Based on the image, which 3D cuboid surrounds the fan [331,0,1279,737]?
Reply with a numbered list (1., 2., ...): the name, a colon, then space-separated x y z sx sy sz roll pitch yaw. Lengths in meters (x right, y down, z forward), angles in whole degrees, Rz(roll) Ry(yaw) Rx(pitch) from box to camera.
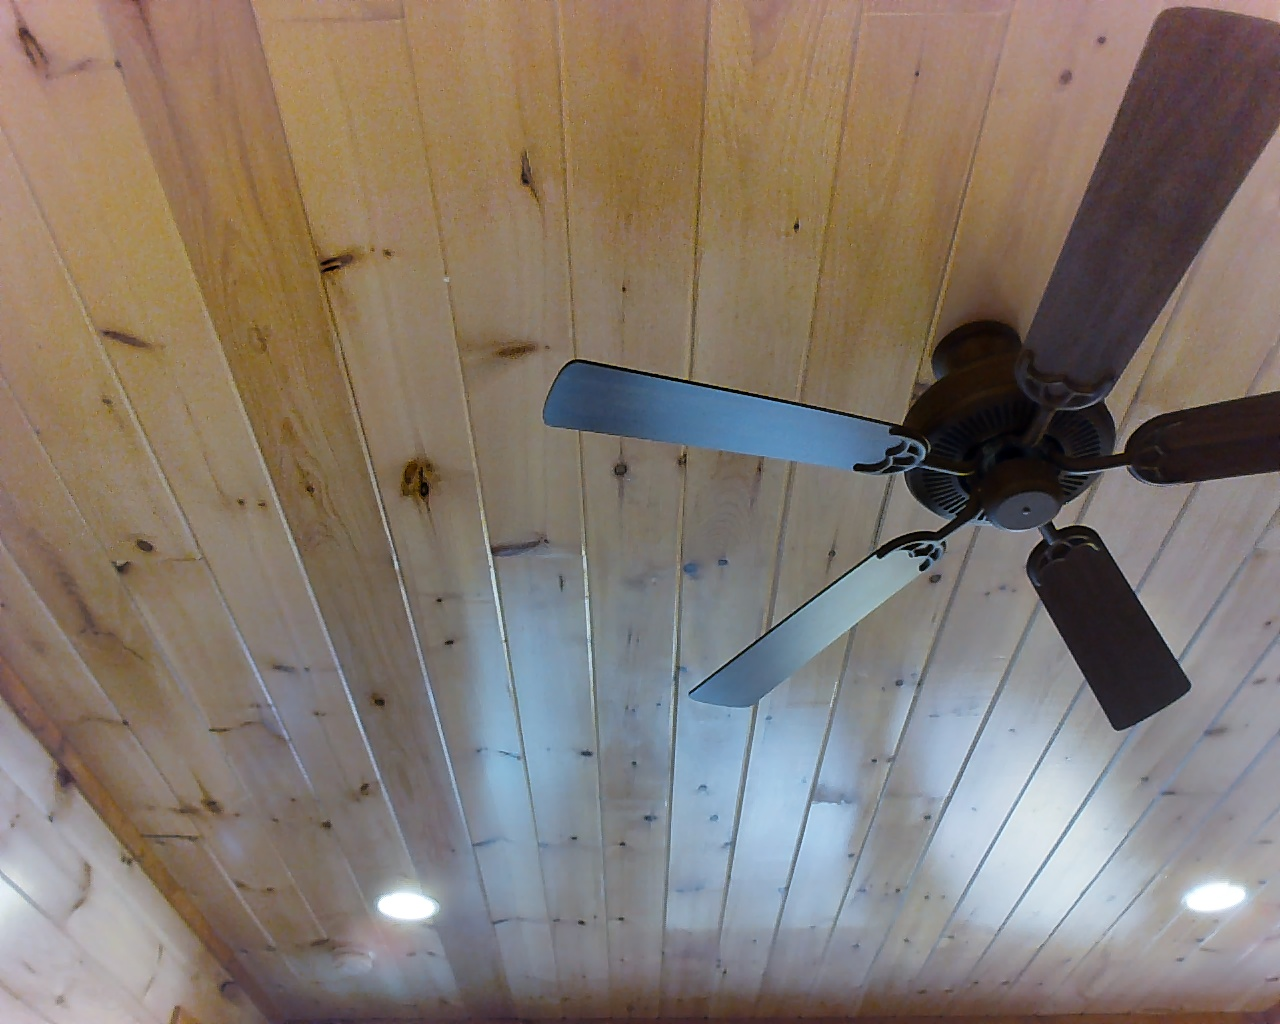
1. fan: 0.430 -0.100 1.450 1.400 1.280 0.170 0 48 0
